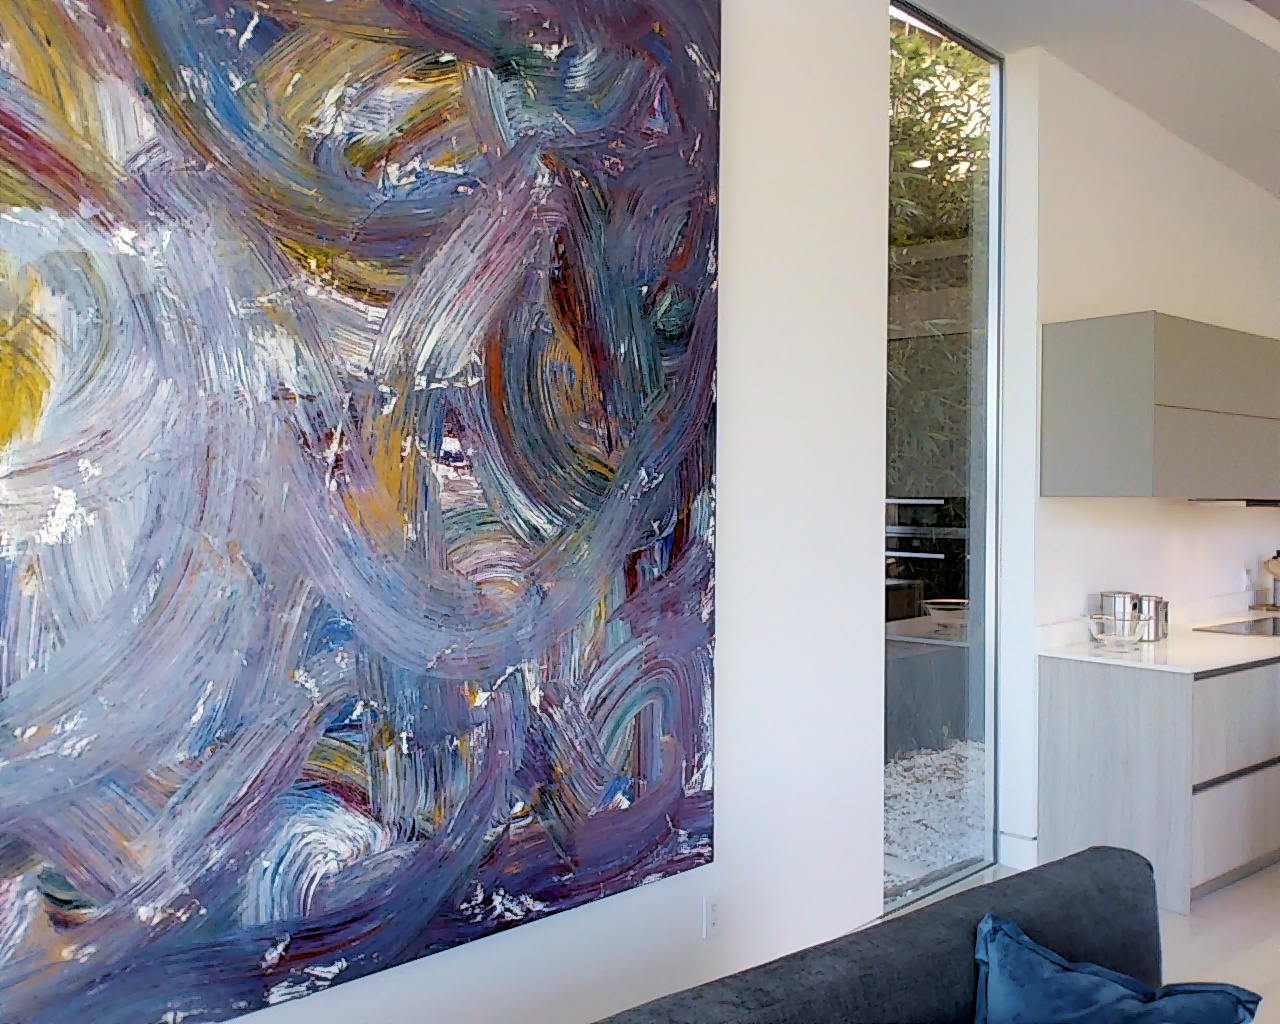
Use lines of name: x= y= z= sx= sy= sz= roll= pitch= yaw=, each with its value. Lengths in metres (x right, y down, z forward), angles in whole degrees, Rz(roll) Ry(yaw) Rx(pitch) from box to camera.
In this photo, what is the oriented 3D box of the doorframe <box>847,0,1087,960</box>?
doorframe: x=1.260 y=-0.190 z=4.060 sx=1.140 sy=3.370 sz=0.270 roll=0 pitch=1 yaw=-40
